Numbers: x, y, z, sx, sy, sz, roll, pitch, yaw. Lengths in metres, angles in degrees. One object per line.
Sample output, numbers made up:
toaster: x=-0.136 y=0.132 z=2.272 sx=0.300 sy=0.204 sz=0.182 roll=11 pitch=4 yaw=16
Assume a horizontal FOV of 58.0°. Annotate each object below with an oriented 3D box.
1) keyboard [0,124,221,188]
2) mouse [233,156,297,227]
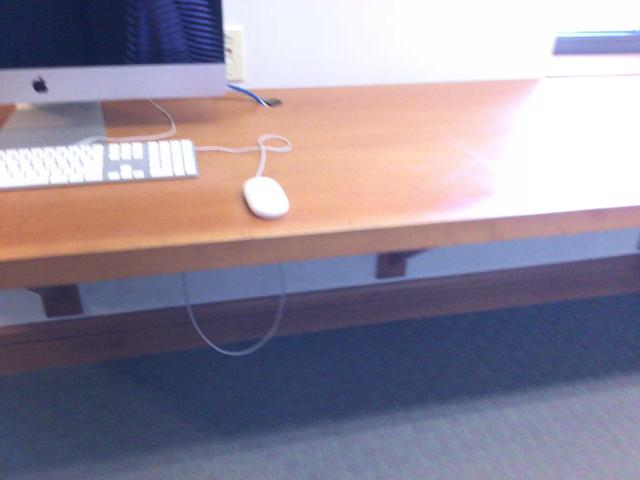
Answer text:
keyboard: x=-0.400 y=-0.150 z=1.000 sx=0.440 sy=0.030 sz=0.190 roll=-3 pitch=32 yaw=-12
mouse: x=-0.090 y=-0.080 z=0.910 sx=0.080 sy=0.040 sz=0.160 roll=-3 pitch=32 yaw=-12
